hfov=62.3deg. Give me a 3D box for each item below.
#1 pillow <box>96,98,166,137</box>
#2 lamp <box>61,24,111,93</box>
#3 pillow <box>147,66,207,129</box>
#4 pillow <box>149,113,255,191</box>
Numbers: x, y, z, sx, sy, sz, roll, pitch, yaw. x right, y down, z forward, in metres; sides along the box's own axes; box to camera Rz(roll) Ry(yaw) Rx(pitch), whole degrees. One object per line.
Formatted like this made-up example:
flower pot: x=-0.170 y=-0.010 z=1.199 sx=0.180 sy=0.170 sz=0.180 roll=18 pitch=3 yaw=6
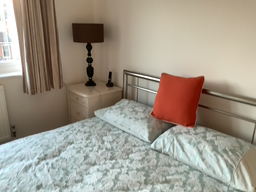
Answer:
pillow: x=0.010 y=0.170 z=1.960 sx=0.340 sy=0.100 sz=0.580 roll=-14 pitch=23 yaw=-39
lamp: x=-0.490 y=-0.470 z=2.540 sx=0.400 sy=0.730 sz=0.430 roll=-14 pitch=23 yaw=-40
pillow: x=0.410 y=0.000 z=1.760 sx=0.400 sy=0.420 sz=0.180 roll=18 pitch=46 yaw=43
pillow: x=0.550 y=0.350 z=1.490 sx=0.450 sy=0.170 sz=0.660 roll=-14 pitch=23 yaw=-39
